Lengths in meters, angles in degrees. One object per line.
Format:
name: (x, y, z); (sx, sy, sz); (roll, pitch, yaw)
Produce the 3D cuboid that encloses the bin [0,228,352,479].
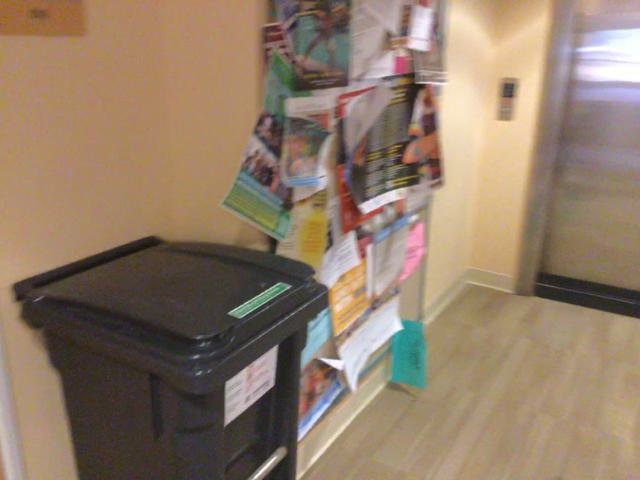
bin: (-0.320, 0.490, 1.420); (0.620, 0.920, 0.490); (4, 16, 31)
